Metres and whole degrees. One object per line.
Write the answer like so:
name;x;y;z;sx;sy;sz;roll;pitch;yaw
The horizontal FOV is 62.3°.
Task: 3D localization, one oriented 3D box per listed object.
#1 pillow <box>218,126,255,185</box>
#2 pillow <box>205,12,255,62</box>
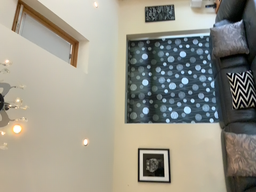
pillow;1.280;0.630;2.270;0.120;0.400;0.490;68;-177;-68
pillow;1.330;-0.770;2.770;0.160;0.360;0.530;68;177;-71
